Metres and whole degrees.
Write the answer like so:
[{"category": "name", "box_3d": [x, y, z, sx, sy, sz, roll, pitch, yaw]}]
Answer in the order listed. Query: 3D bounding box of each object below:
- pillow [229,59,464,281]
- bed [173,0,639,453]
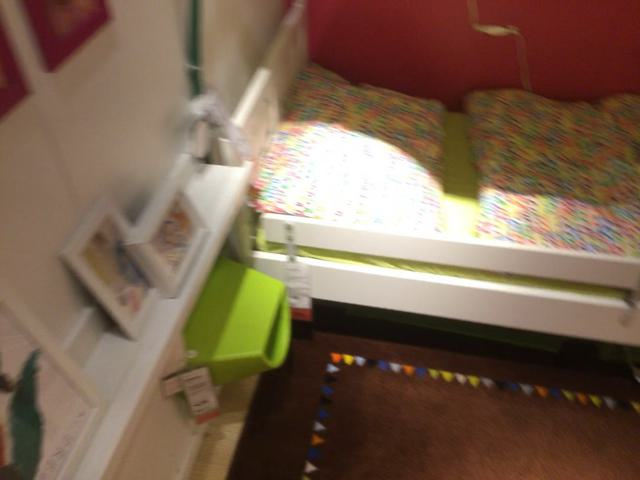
[{"category": "pillow", "box_3d": [0.120, -0.240, 1.540, 0.440, 0.180, 0.750, 6, 41, 15]}, {"category": "bed", "box_3d": [0.660, -0.120, 1.460, 1.640, 0.810, 0.880, 8, 41, 17]}]
